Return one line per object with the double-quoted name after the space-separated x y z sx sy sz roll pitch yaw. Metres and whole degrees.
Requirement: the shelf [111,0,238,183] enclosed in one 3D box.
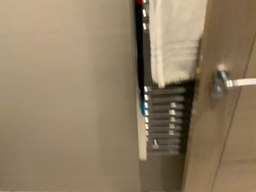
0.150 -0.130 0.800 0.370 1.510 0.090 -1 37 4 "shelf"
